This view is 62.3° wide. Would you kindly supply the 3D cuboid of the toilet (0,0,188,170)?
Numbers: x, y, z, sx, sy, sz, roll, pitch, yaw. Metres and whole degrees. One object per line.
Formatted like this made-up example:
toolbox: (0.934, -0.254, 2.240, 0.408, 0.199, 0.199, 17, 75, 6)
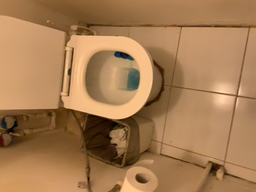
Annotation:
toilet: (-0.200, -0.090, 0.970, 0.680, 0.840, 0.390, 12, 95, 28)
